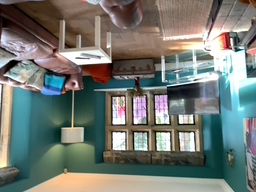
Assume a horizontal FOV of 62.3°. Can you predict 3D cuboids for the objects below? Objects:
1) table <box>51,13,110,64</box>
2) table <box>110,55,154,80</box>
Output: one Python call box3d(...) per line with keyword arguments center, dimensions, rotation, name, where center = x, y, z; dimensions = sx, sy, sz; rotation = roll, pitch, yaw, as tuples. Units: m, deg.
box3d(center=(-0.620, -0.760, 2.930), dimensions=(0.600, 0.450, 0.570), rotation=(-2, 173, 13), name="table")
box3d(center=(0.100, -0.610, 4.640), dimensions=(0.910, 0.380, 0.560), rotation=(-1, 174, 6), name="table")
